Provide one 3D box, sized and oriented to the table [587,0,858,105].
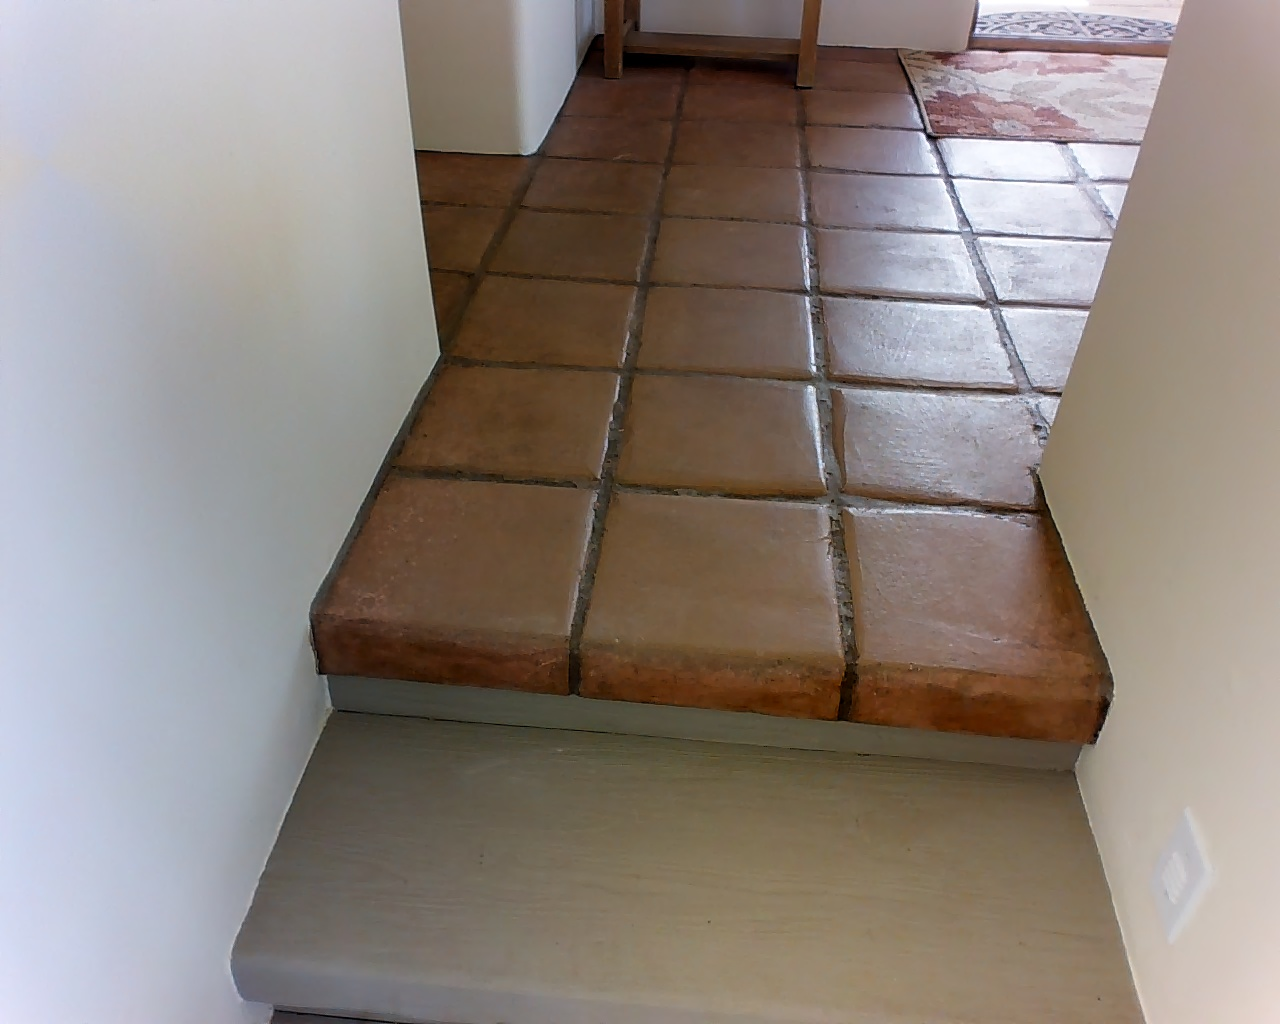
[{"bbox_3d":[0.230,-1.480,2.850,0.680,0.600,0.490,4,37,4],"label":"table"}]
